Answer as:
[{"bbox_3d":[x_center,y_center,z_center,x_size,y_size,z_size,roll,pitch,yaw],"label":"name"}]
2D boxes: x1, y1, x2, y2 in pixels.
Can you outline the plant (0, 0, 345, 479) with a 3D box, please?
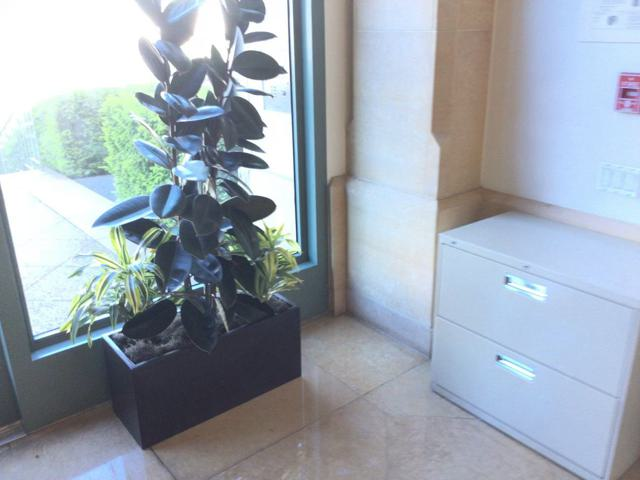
[{"bbox_3d":[-0.510,-0.160,2.160,1.020,1.760,0.510,-13,21,-27],"label":"plant"}]
